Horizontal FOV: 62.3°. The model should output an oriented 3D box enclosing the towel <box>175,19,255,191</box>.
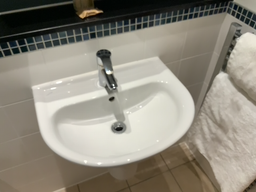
[{"bbox_3d":[0.460,0.110,0.990,0.160,0.770,0.420,-15,46,-16],"label":"towel"}]
